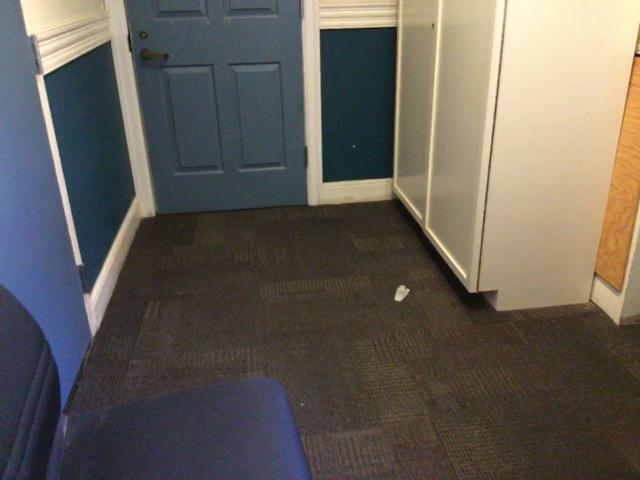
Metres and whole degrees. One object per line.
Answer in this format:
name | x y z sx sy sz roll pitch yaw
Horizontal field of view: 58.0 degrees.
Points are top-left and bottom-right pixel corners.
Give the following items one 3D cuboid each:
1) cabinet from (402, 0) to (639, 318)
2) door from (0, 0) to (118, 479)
cabinet | 0.770 -0.590 2.460 0.580 1.490 0.980 -5 25 -5
door | -0.810 -0.060 1.570 0.090 1.380 0.910 -5 25 -5
